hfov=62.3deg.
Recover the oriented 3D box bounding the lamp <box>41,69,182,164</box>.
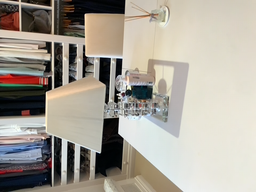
[{"bbox_3d":[-0.100,0.060,1.060,0.340,0.600,0.330,-153,65,-61],"label":"lamp"}]
